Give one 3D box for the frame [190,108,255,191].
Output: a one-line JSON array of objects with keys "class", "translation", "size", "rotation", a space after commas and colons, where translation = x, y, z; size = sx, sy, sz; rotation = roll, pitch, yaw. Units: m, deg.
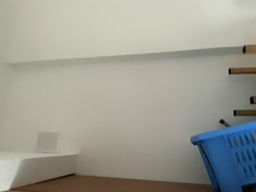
[{"class": "frame", "translation": [0.620, 0.280, 1.070], "size": [0.530, 0.560, 0.330], "rotation": [51, -140, -69]}]
